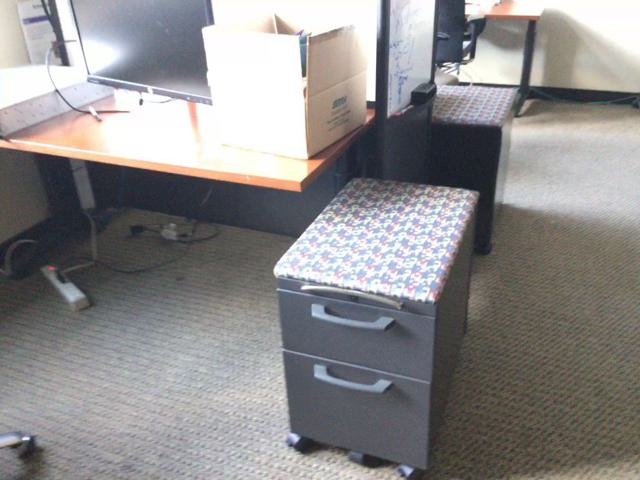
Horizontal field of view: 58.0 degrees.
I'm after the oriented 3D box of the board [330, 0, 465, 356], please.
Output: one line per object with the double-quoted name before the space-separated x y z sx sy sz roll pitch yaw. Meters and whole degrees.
"board" 0.280 -0.530 1.840 0.170 1.680 0.740 10 33 24
